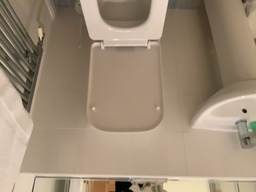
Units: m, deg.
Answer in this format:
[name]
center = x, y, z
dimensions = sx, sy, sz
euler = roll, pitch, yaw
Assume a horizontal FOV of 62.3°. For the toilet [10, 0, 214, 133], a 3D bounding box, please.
[toilet]
center = -0.030, -0.330, 0.900
dimensions = 0.430, 0.830, 0.620
euler = 0, 156, 0
